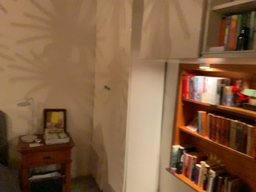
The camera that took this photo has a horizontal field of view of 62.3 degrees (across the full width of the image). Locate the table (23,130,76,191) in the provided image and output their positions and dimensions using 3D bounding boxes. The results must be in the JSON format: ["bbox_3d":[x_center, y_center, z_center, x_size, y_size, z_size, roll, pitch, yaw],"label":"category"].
[{"bbox_3d":[-0.900,0.780,2.380,0.500,0.640,0.490,0,8,-27],"label":"table"}]
